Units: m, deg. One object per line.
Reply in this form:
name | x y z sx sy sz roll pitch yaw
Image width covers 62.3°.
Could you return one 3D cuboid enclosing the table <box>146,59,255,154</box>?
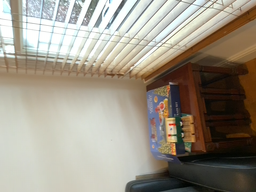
table | 0.510 0.100 1.500 0.500 0.540 0.530 154 114 -62
